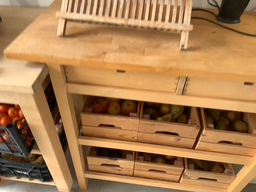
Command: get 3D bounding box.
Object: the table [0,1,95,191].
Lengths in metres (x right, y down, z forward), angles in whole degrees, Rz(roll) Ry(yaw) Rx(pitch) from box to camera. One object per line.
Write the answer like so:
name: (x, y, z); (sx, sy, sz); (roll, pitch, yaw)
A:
table: (-0.550, 0.080, 1.030); (0.620, 0.870, 0.500); (6, 44, 3)

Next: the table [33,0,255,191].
table: (0.210, 0.110, 1.000); (0.910, 0.910, 0.430); (6, 44, 3)
